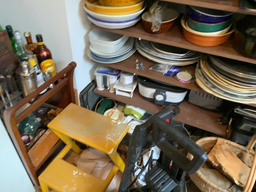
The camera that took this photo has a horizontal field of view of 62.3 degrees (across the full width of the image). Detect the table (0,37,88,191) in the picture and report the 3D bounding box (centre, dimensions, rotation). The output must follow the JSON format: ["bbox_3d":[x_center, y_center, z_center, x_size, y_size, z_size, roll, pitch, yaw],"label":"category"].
[{"bbox_3d":[-0.700,0.100,1.330,0.690,0.710,0.460,18,41,18],"label":"table"}]
